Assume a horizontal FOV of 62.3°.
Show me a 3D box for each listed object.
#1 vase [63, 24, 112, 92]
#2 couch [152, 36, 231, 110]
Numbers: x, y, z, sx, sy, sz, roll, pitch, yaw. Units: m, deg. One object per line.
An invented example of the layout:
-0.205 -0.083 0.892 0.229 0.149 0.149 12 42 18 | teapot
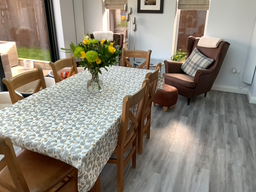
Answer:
-0.360 -0.370 1.990 0.320 0.550 0.290 11 26 22 | vase
1.080 -0.470 3.740 0.940 1.000 0.800 -17 29 -35 | couch
